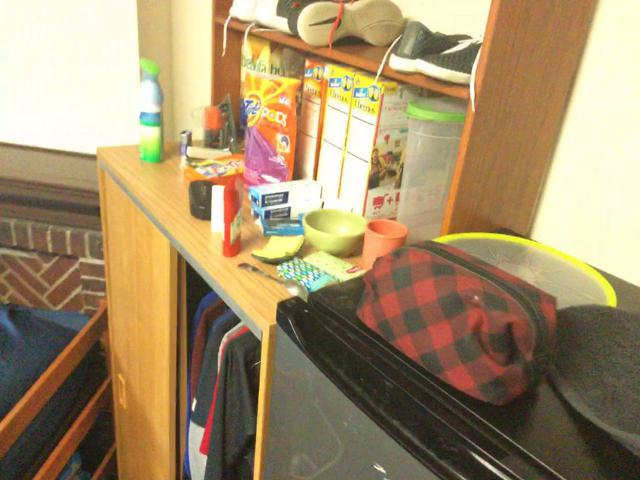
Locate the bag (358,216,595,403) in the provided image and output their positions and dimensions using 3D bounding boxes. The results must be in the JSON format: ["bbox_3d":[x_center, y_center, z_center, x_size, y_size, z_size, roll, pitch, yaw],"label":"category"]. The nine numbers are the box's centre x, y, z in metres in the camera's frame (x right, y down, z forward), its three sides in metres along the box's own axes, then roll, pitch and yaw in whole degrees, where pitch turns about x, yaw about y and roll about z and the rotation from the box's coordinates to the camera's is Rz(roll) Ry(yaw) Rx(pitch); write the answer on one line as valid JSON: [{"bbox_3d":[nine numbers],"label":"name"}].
[{"bbox_3d":[0.180,0.070,0.710,0.160,0.110,0.210,-8,29,-31],"label":"bag"}]
